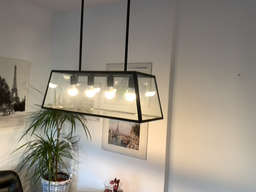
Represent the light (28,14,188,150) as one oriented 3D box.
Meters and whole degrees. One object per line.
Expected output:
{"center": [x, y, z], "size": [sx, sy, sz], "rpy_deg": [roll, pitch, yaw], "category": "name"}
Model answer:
{"center": [-0.170, -0.030, 1.650], "size": [0.360, 0.910, 0.980], "rpy_deg": [-97, 13, -50], "category": "light"}
